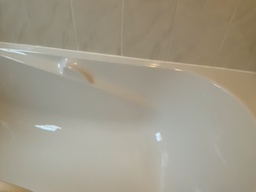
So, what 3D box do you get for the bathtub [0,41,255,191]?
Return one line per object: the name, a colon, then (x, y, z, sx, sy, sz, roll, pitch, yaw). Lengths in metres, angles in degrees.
bathtub: (-0.320, 0.230, 0.890, 1.710, 0.540, 0.710, 8, 44, 5)
